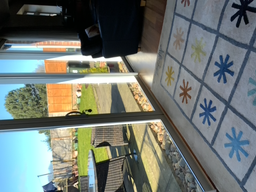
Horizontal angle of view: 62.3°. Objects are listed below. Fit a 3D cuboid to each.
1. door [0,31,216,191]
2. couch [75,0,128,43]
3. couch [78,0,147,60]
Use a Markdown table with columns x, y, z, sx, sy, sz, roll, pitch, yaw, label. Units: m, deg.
| x | y | z | sx | sy | sz | roll | pitch | yaw | label |
| --- | --- | --- | --- | --- | --- | --- | --- | --- | --- |
| -0.620 | 0.480 | 2.140 | 6.690 | 2.440 | 0.120 | -115 | 28 | -53 | door |
| -0.570 | -1.660 | 4.150 | 0.910 | 0.860 | 0.960 | -117 | 30 | -55 | couch |
| -0.320 | -1.180 | 3.330 | 0.920 | 0.860 | 0.930 | -117 | 30 | -55 | couch |
